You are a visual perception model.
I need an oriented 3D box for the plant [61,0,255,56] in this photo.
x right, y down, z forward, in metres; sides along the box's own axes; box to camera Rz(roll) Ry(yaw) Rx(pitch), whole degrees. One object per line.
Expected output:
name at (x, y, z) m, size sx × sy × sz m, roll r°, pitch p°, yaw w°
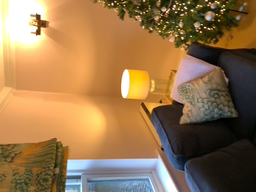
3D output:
plant at (0.280, -1.000, 2.030) m, size 0.800 × 1.660 × 0.840 m, roll -118°, pitch 36°, yaw -62°

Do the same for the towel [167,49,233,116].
towel at (0.580, -0.150, 1.860) m, size 0.620 × 0.170 × 0.370 m, roll -117°, pitch 35°, yaw -61°

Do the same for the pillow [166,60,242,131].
pillow at (0.590, 0.000, 1.710) m, size 0.400 × 0.380 × 0.170 m, roll 51°, pitch -177°, yaw 15°
